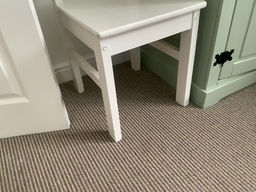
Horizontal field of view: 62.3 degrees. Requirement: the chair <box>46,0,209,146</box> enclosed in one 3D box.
[{"bbox_3d":[-0.040,-0.380,0.790,0.410,0.950,0.510,-23,42,-24],"label":"chair"}]
